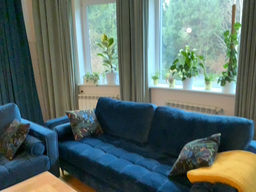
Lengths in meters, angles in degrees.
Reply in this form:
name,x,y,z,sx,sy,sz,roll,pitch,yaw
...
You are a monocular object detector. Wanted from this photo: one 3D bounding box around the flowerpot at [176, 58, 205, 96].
name,x,y,z,sx,sy,sz,roll,pitch,yaw
flowerpot,0.990,-0.320,3.360,0.310,0.560,0.360,7,14,37
